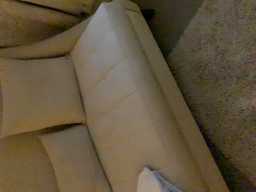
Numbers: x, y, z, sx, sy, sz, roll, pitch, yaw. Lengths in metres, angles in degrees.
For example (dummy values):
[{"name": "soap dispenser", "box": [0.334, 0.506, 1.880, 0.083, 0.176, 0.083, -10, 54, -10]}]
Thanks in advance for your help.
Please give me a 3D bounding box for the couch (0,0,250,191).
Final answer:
[{"name": "couch", "box": [-0.150, 0.350, 1.240, 0.960, 0.950, 1.740, -38, 67, 40]}]
